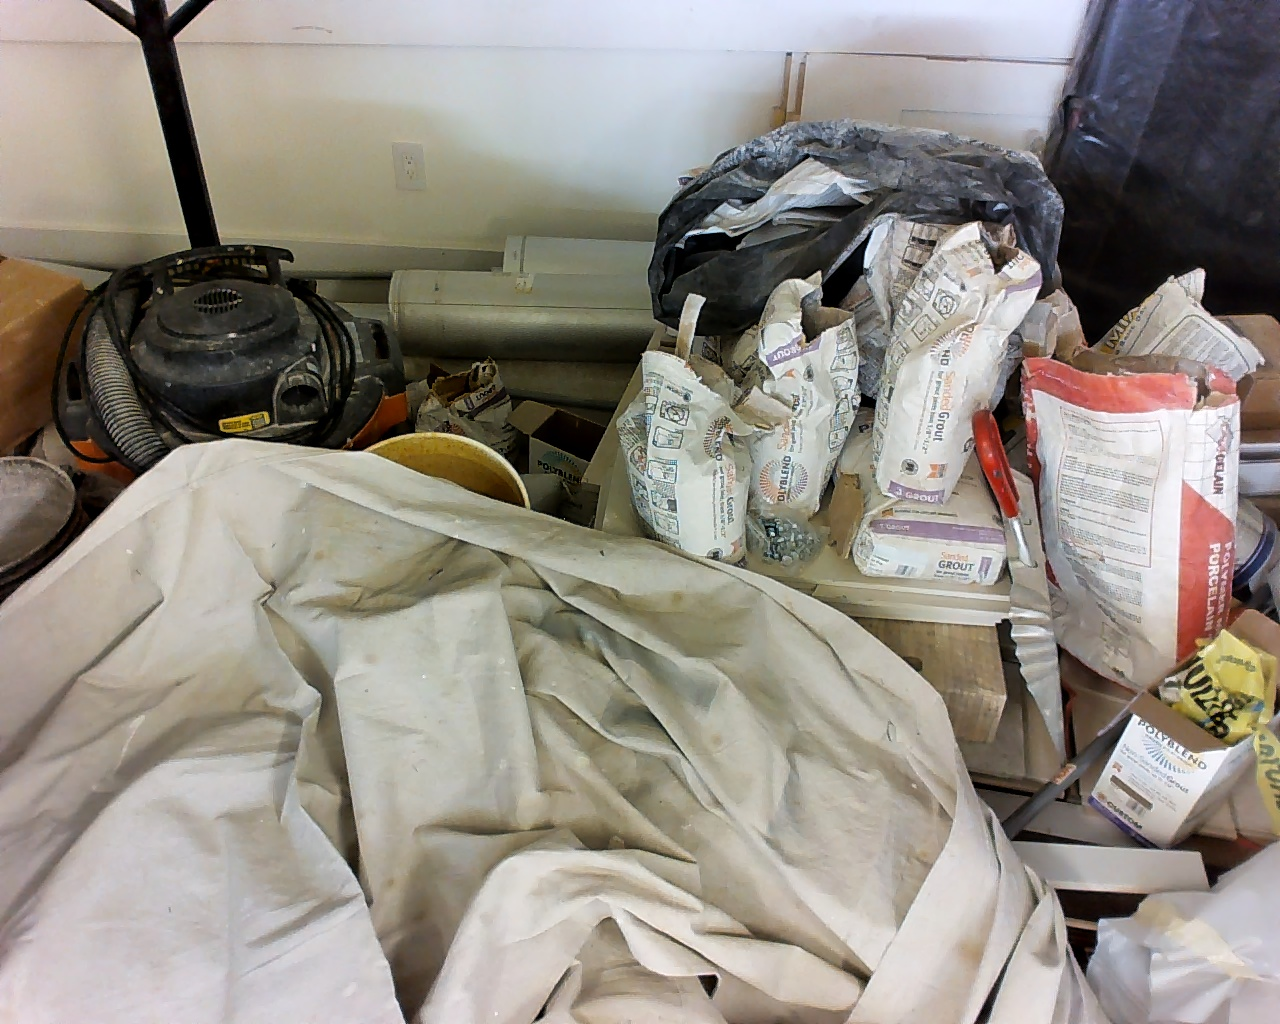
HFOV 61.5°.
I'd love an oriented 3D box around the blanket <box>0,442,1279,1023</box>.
[{"bbox_3d":[-0.110,0.480,1.290,1.430,0.540,1.000,-4,42,-6],"label":"blanket"}]
